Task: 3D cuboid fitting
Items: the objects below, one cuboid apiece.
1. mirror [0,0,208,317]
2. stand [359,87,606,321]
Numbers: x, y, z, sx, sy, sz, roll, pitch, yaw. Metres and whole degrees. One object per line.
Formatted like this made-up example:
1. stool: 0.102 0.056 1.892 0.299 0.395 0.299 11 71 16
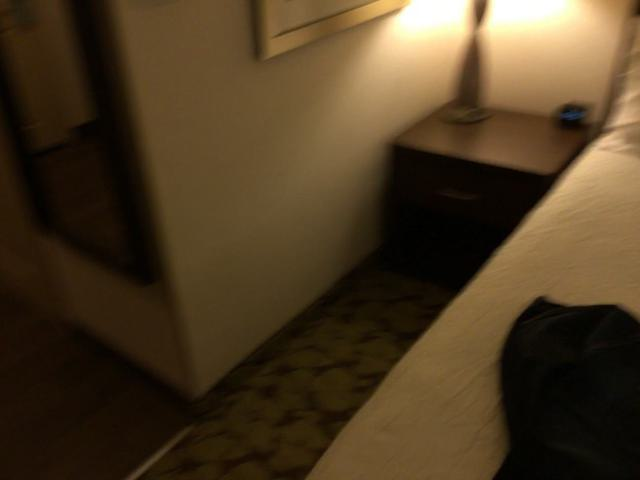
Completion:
1. mirror: -0.740 -0.560 1.370 0.770 1.500 0.120 16 38 37
2. stand: 0.640 -0.190 2.290 0.690 0.620 0.590 16 38 37
